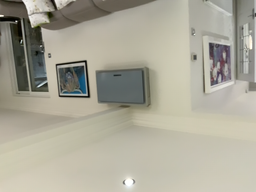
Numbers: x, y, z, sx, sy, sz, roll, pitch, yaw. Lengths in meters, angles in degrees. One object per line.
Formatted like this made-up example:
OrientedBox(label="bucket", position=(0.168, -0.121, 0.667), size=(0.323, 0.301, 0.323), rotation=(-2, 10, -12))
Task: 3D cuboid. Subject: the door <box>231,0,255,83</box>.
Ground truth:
OrientedBox(label="door", position=(2.090, -1.280, 3.890), size=(0.060, 2.030, 0.800), rotation=(-3, -172, 5))
